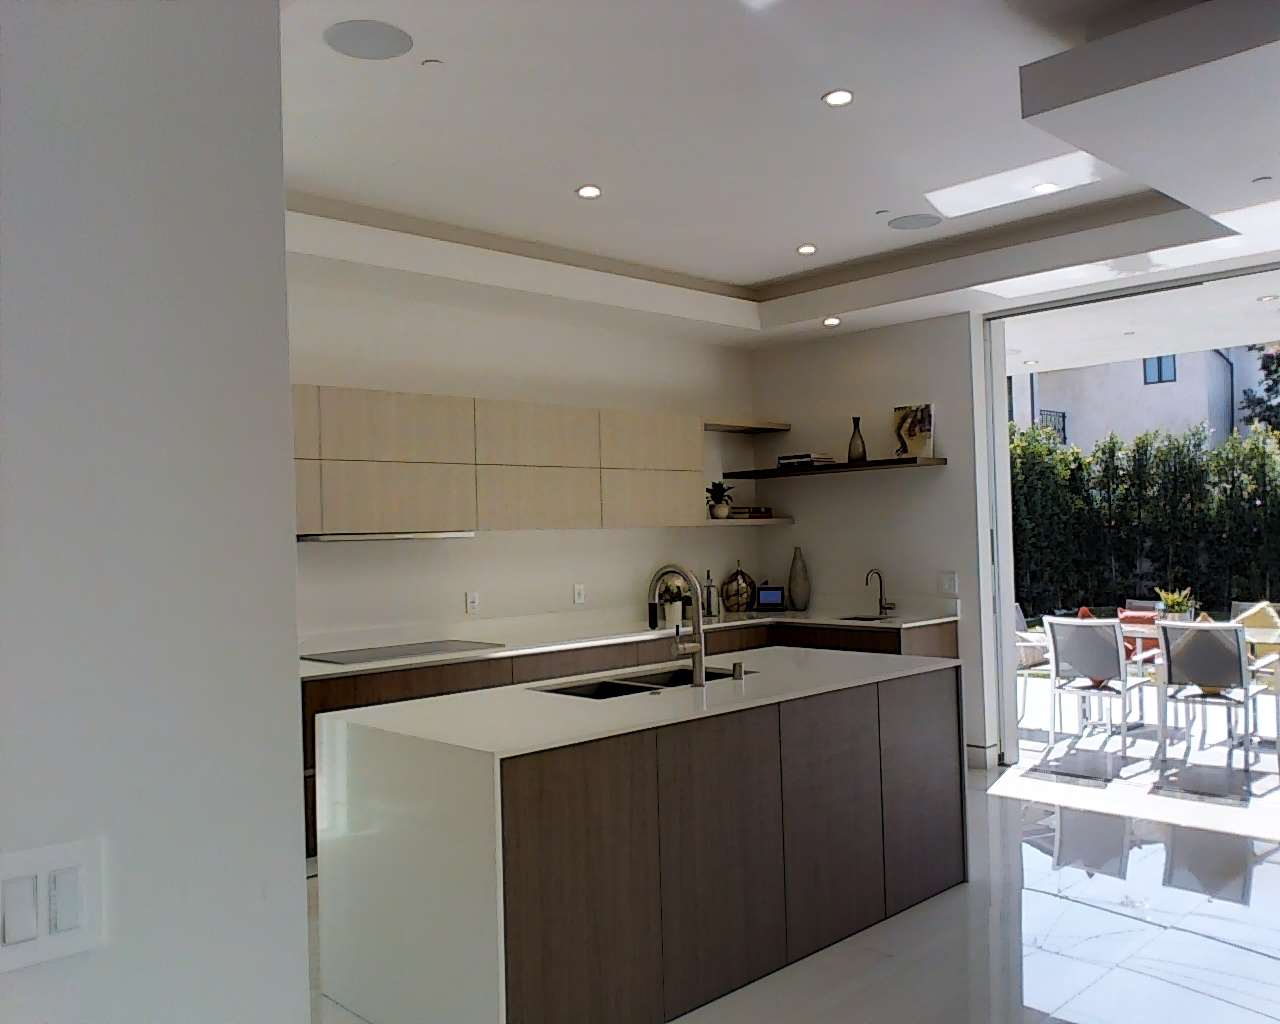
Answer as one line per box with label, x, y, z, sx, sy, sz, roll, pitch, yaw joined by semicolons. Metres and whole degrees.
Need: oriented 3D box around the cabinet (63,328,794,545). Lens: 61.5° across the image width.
cabinet;-0.750;-0.330;6.290;4.659;0.910;0.460;-1;-1;-44
